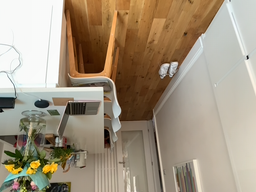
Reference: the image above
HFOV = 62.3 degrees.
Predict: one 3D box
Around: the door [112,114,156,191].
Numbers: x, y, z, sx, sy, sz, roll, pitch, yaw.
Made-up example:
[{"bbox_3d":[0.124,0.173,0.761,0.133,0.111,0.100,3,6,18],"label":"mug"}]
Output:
[{"bbox_3d":[0.120,1.430,4.930,0.890,2.050,0.200,-1,158,-7],"label":"door"}]
